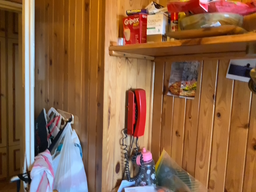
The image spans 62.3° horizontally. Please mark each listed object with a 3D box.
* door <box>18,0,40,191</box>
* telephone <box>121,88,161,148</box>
[{"bbox_3d":[-0.560,0.420,1.210,0.070,1.820,0.780,-1,7,-25],"label":"door"},{"bbox_3d":[0.060,0.090,0.960,0.080,0.240,0.170,7,8,41],"label":"telephone"}]
